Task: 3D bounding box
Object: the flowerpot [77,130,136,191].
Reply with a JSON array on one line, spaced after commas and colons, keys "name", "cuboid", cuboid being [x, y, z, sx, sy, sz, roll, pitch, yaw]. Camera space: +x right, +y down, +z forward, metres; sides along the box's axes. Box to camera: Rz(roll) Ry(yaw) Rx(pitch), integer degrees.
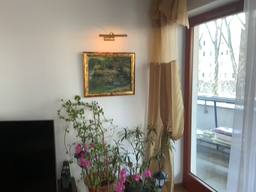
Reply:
[{"name": "flowerpot", "cuboid": [-0.240, 0.900, 2.160, 0.490, 0.910, 0.620, -3, 8, -14]}]
